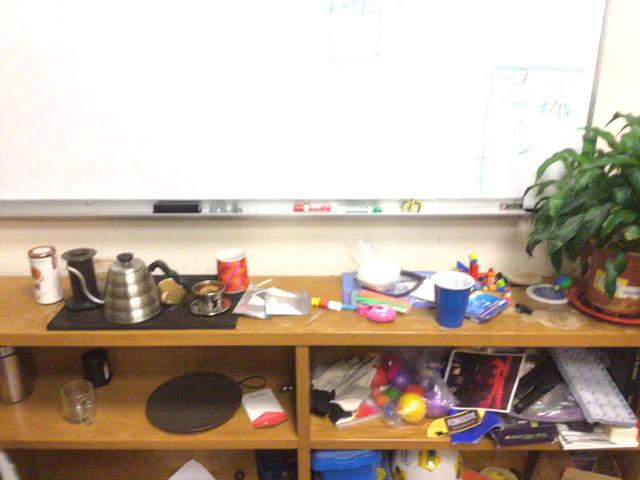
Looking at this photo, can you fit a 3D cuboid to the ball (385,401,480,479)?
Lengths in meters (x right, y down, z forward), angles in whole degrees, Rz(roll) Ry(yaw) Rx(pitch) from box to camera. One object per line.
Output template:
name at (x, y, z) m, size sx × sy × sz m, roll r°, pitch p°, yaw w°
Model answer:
ball at (0.320, 0.640, 1.700) m, size 0.220 × 0.240 × 0.200 m, roll -1°, pitch 20°, yaw -3°
